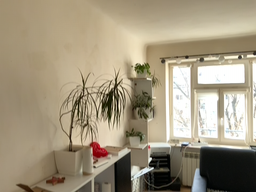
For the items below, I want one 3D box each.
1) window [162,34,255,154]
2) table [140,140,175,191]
[{"bbox_3d":[1.690,-0.030,3.880,2.130,2.030,0.200,0,1,24],"label":"window"},{"bbox_3d":[0.510,1.210,3.750,0.570,0.780,0.310,0,1,-1],"label":"table"}]
